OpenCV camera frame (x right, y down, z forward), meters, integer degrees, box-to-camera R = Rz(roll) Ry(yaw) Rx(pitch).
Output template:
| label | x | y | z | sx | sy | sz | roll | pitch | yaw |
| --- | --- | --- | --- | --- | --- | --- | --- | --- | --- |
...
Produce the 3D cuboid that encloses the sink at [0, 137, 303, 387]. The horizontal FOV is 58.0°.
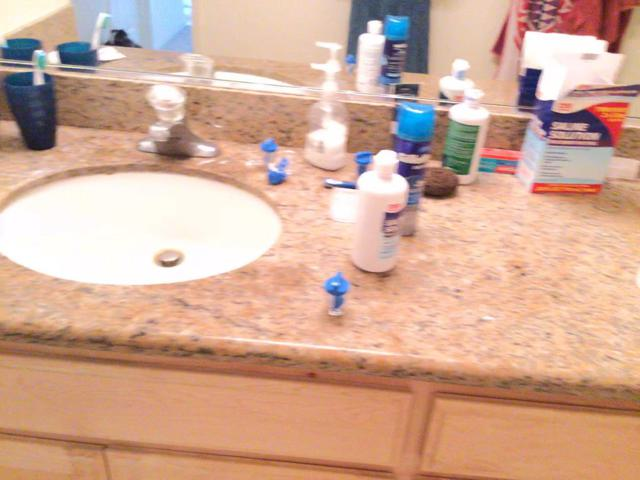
| label | x | y | z | sx | sy | sz | roll | pitch | yaw |
| --- | --- | --- | --- | --- | --- | --- | --- | --- | --- |
| sink | -0.260 | 0.010 | 0.930 | 0.420 | 0.180 | 0.380 | 6 | 30 | 0 |
